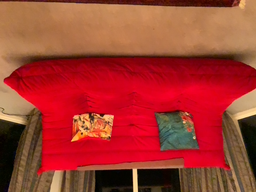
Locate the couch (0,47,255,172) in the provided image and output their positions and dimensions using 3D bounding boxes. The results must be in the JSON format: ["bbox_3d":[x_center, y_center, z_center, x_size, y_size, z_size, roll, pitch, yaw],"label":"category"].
[{"bbox_3d":[0.140,0.190,2.070,2.160,0.830,0.980,-1,151,-1],"label":"couch"}]
